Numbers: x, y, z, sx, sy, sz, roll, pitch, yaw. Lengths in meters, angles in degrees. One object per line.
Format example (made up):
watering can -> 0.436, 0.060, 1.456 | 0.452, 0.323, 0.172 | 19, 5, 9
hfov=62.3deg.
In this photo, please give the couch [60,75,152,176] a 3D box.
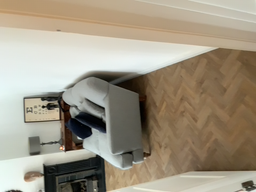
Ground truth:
couch -> -0.510, 0.380, 3.400 | 1.930, 0.810, 1.120 | -9, 83, 63
